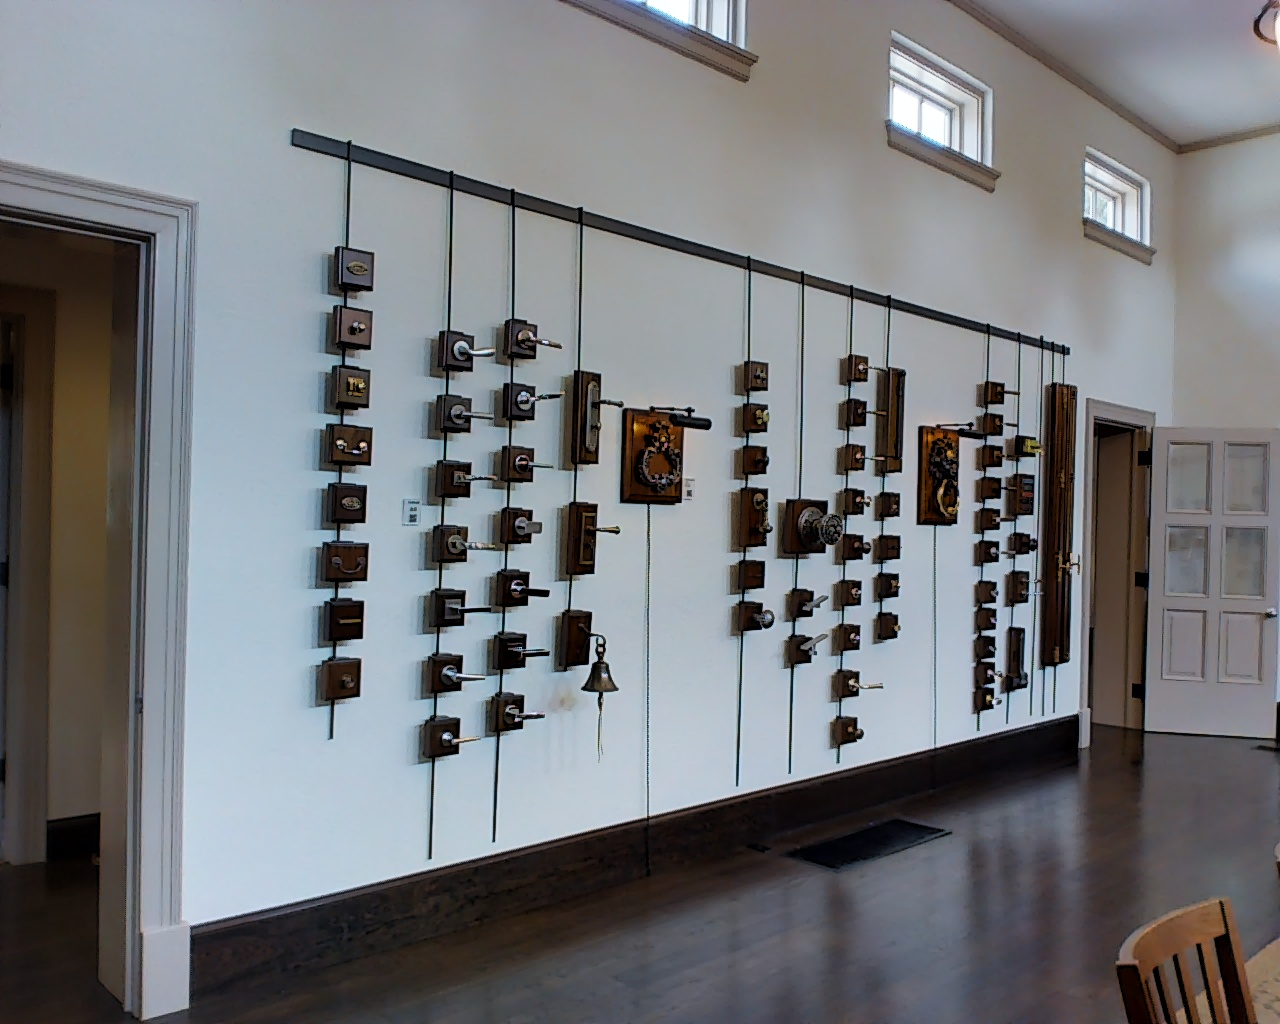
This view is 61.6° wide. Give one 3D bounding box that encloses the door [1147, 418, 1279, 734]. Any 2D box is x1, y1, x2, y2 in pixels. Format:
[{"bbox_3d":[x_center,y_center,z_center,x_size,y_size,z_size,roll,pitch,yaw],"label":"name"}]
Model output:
[{"bbox_3d":[4.320,0.460,7.960,0.960,2.300,0.140,1,0,13],"label":"door"}]
